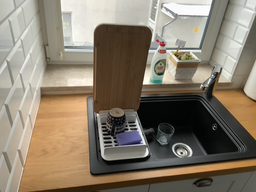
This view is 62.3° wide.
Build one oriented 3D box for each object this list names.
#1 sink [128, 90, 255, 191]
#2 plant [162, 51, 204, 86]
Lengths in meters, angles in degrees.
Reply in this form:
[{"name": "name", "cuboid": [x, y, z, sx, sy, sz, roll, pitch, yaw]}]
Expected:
[{"name": "sink", "cuboid": [0.300, 0.210, 1.150, 0.510, 0.240, 0.520, -1, 33, -10]}, {"name": "plant", "cuboid": [0.350, -0.180, 1.390, 0.200, 0.180, 0.130, -1, 33, -10]}]
